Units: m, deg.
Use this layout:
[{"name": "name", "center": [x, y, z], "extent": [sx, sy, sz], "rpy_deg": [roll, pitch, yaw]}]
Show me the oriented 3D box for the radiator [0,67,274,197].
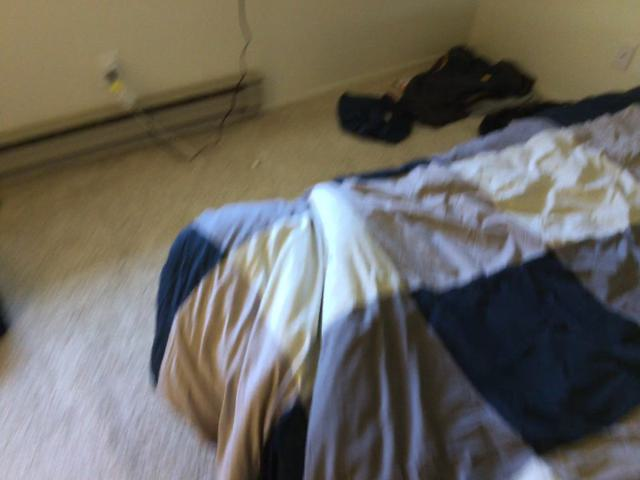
[{"name": "radiator", "center": [-0.900, -0.370, 2.180], "extent": [1.620, 0.210, 0.090], "rpy_deg": [-22, 47, -26]}]
